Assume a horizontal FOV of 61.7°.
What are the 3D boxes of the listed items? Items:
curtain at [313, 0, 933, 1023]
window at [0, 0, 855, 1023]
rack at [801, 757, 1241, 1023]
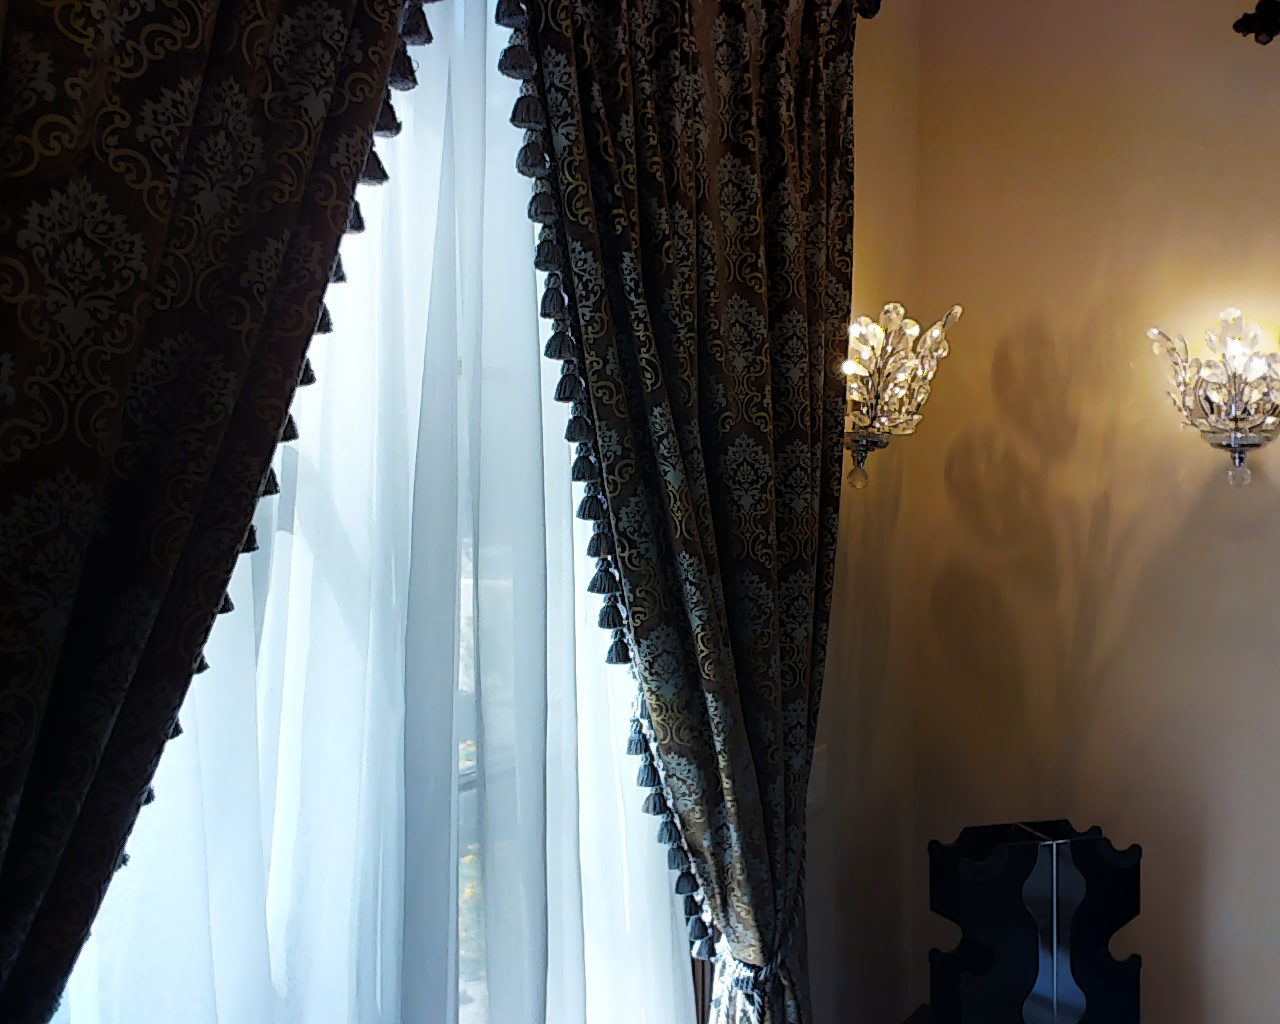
[{"bbox_3d":[0.090,0.320,1.390,0.220,2.500,1.100,1,0,33],"label":"curtain"},{"bbox_3d":[-0.150,0.530,1.070,0.250,2.100,1.270,1,0,33],"label":"window"},{"bbox_3d":[0.730,1.070,2.000,0.640,1.020,0.660,1,0,33],"label":"rack"}]
